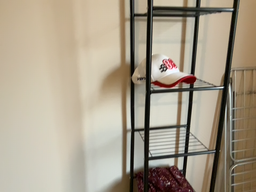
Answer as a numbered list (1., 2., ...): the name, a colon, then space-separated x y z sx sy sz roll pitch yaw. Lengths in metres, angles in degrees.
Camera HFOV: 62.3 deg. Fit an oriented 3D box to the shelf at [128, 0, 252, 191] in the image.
1. shelf: 0.210 0.260 1.040 0.390 1.720 0.300 0 16 -4
